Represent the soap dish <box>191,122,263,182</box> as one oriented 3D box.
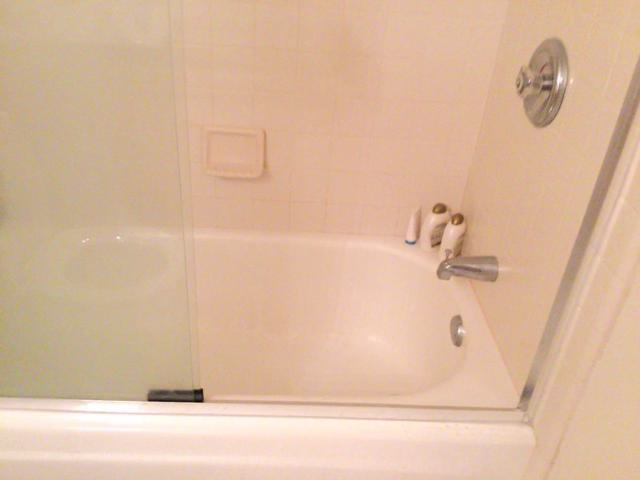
[{"bbox_3d":[-0.250,-0.240,1.580,0.180,0.140,0.080,1,29,-2],"label":"soap dish"}]
